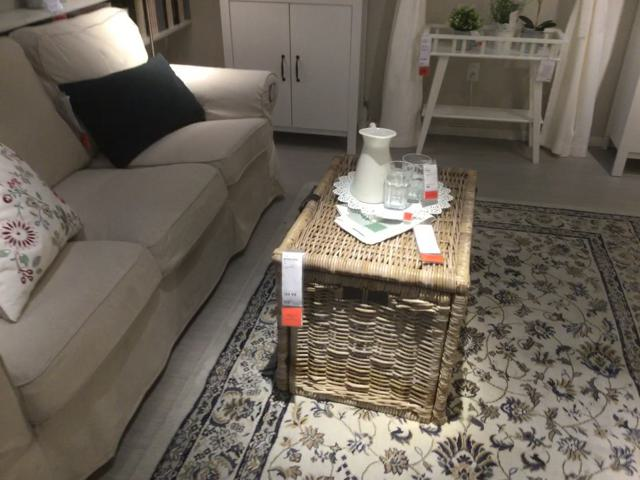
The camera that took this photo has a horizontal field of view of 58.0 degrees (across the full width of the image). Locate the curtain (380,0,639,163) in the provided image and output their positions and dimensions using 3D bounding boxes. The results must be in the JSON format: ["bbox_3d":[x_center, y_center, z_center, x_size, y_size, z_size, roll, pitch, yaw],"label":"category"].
[{"bbox_3d":[1.000,-1.520,2.720,1.350,2.280,0.210,7,31,14],"label":"curtain"}]
